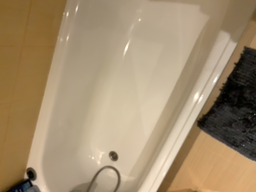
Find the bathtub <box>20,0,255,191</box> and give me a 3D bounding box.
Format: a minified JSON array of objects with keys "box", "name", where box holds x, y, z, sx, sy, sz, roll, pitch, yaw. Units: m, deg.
[{"box":[0.020,0.000,1.150,0.720,0.530,1.520,29,111,18],"name":"bathtub"}]
